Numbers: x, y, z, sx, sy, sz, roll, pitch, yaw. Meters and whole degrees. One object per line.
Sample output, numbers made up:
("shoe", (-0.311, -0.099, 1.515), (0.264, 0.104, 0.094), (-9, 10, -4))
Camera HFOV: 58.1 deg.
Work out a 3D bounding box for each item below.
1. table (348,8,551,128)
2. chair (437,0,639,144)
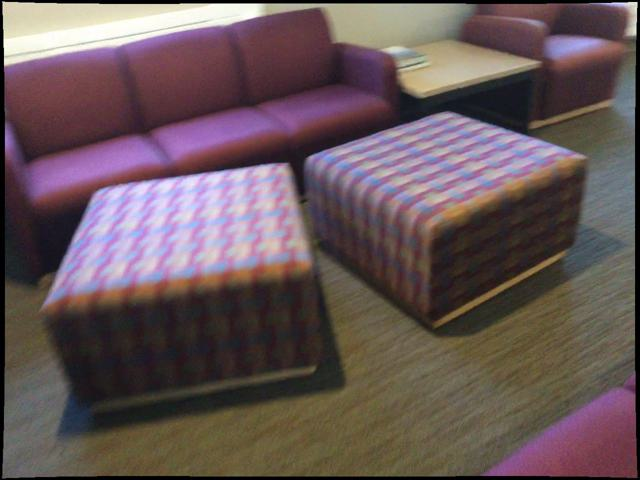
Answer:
("table", (0.688, -0.983, 3.180), (0.809, 0.351, 0.690), (-20, 35, -21))
("chair", (1.337, -1.183, 3.570), (0.859, 0.751, 0.830), (-21, 35, -23))
